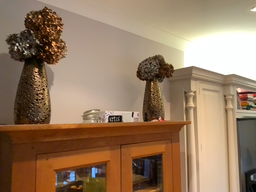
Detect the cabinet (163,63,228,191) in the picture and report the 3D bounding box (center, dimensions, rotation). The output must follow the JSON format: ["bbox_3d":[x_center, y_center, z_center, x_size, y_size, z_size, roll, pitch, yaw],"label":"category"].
[{"bbox_3d":[0.680,0.840,2.060,0.640,2.210,0.280,5,-8,-40],"label":"cabinet"}]
